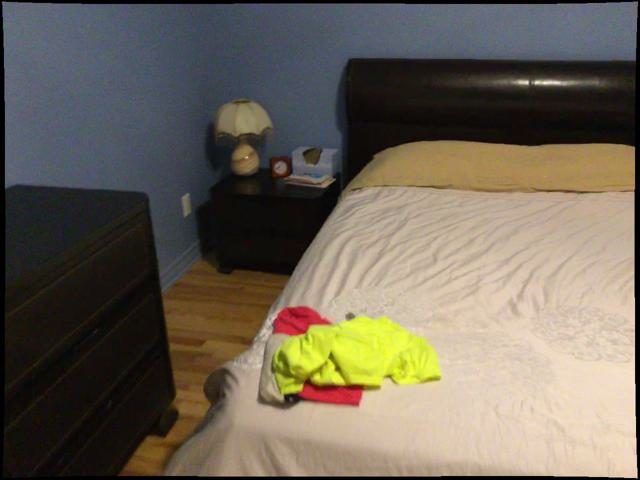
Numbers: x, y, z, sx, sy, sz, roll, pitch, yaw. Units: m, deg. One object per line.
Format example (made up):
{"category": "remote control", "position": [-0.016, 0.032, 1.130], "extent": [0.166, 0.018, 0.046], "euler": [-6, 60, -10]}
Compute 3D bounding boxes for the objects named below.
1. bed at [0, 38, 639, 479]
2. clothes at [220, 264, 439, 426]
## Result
{"category": "bed", "position": [0.719, 0.020, 1.960], "extent": [1.948, 1.031, 2.330], "euler": [4, 27, 16]}
{"category": "clothes", "position": [0.050, 0.230, 1.440], "extent": [0.440, 0.120, 0.430], "euler": [4, 27, 16]}
